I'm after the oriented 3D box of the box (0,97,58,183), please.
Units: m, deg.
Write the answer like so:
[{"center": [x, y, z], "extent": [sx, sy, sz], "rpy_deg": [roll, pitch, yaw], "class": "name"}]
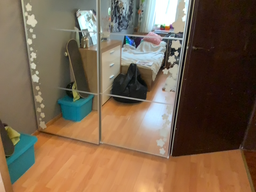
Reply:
[{"center": [-1.000, 0.370, 1.990], "extent": [0.330, 0.480, 0.620], "rpy_deg": [10, 24, 16], "class": "box"}]
